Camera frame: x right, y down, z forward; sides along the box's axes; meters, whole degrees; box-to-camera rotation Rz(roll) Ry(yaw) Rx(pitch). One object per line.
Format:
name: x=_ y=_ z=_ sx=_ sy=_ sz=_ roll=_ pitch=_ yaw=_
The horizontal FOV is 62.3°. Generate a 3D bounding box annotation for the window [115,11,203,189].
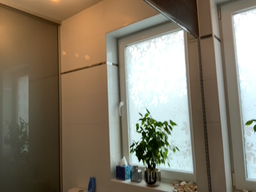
window: x=0.250 y=0.040 z=2.010 sx=0.770 sy=1.460 sz=0.140 roll=-5 pitch=-6 yaw=35
